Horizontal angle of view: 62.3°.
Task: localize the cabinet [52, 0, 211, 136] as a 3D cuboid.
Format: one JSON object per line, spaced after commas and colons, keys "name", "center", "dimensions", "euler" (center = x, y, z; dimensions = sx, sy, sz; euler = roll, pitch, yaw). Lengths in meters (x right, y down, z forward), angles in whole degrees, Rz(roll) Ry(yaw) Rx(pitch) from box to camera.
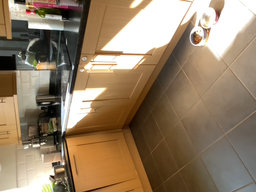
{"name": "cabinet", "center": [-0.090, -0.540, 1.900], "dimensions": [2.310, 0.890, 0.620], "euler": [-63, 40, 45]}
